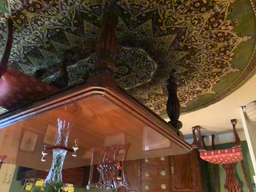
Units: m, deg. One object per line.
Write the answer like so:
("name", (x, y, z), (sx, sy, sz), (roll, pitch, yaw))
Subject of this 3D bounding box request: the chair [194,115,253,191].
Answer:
("chair", (1.290, 0.860, 2.890), (0.480, 0.990, 0.530), (-19, 144, 33))

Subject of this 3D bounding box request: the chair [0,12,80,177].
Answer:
("chair", (-0.820, 0.030, 1.570), (0.560, 0.970, 0.540), (-23, 142, 38))

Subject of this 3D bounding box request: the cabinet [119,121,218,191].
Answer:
("cabinet", (0.580, 1.060, 3.370), (1.350, 0.930, 0.570), (-19, 144, 33))
